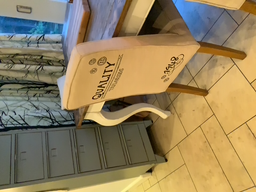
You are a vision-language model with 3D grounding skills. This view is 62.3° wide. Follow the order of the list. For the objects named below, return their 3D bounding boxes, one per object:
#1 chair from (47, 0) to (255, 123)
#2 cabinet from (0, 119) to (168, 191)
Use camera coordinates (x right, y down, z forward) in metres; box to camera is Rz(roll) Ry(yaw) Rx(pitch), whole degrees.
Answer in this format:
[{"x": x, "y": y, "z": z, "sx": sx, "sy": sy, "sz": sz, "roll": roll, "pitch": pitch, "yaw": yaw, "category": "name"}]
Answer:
[{"x": 0.100, "y": -0.300, "z": 1.220, "sx": 0.460, "sy": 0.970, "sz": 0.700, "roll": -58, "pitch": 42, "yaw": 46, "category": "chair"}, {"x": -0.490, "y": 0.500, "z": 1.680, "sx": 0.330, "sy": 1.600, "sz": 0.420, "roll": -59, "pitch": 41, "yaw": 45, "category": "cabinet"}]
